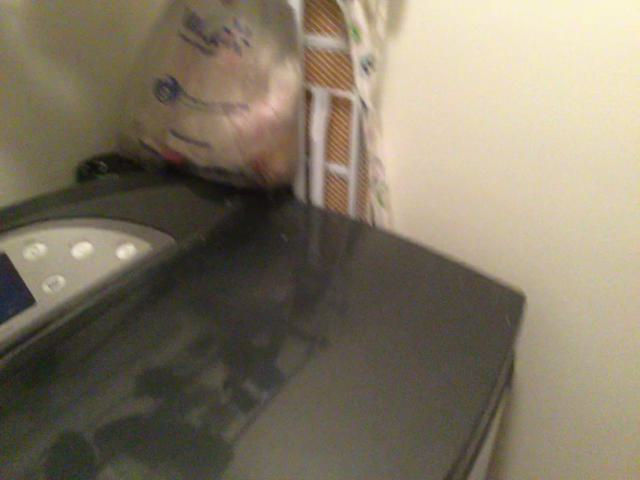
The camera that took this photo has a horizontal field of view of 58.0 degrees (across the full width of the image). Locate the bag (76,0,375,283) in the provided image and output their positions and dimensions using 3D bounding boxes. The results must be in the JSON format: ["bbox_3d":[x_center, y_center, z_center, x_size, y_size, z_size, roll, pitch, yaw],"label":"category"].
[{"bbox_3d":[-0.140,-0.250,0.970,0.370,0.490,0.270,17,36,26],"label":"bag"}]
